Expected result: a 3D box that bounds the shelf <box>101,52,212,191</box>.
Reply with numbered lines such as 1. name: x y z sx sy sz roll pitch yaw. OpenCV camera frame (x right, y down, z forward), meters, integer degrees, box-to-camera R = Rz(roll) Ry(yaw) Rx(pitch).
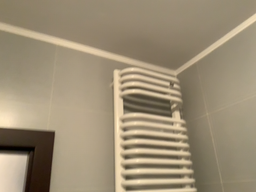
1. shelf: 0.140 0.480 0.900 0.460 1.290 0.210 14 -28 -34
